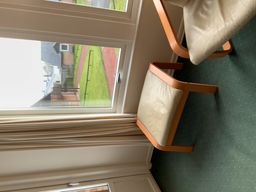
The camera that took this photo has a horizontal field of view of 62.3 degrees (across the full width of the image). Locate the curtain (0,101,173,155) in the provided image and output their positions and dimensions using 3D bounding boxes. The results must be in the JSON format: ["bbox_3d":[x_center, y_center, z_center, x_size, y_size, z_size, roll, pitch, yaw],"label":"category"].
[{"bbox_3d":[-0.590,0.300,2.120,0.150,2.210,0.470,-124,39,-55],"label":"curtain"}]
